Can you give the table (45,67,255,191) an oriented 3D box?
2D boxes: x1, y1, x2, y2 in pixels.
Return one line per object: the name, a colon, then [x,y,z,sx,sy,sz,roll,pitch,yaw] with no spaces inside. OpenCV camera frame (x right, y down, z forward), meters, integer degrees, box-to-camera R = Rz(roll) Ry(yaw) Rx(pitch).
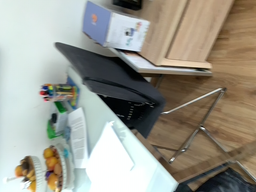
table: [-0.010,0.610,1.420,0.840,0.730,1.340,42,124,41]
